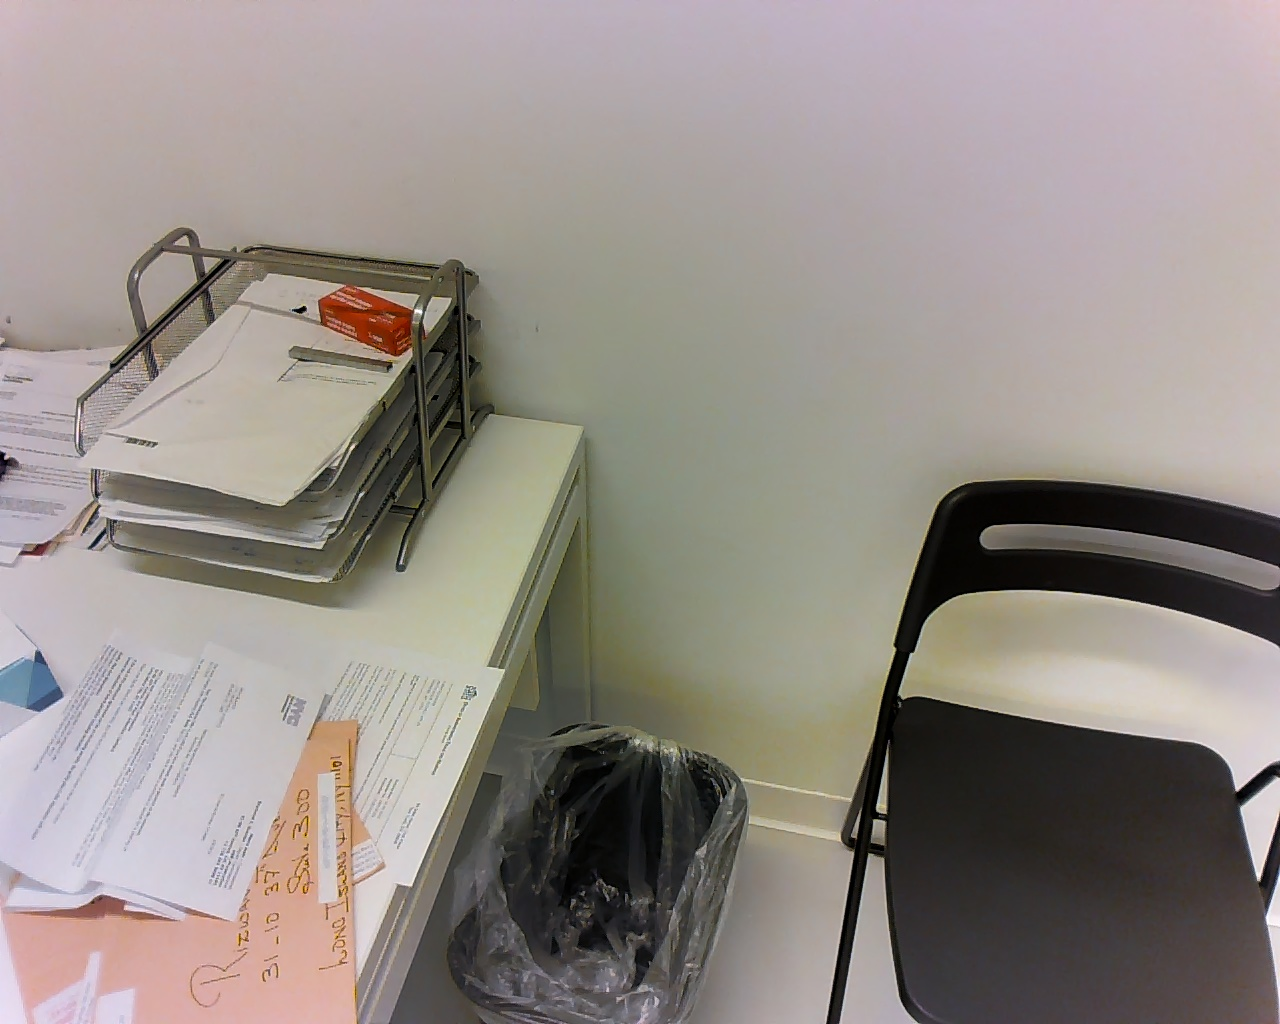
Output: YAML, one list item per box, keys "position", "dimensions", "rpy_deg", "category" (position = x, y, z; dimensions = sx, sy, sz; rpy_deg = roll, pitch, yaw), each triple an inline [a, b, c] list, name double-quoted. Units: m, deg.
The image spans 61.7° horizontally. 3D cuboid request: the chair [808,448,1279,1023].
- position: [0.480, 0.420, 1.190]
  dimensions: [0.500, 0.790, 0.520]
  rpy_deg: [5, 42, 6]
  category: "chair"
